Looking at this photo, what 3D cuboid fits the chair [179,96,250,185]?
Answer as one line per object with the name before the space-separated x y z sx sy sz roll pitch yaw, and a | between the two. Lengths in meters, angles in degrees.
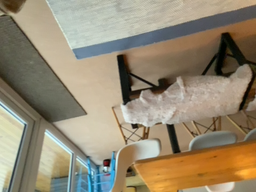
chair | 0.840 0.450 2.200 0.430 0.750 0.360 -12 142 8
